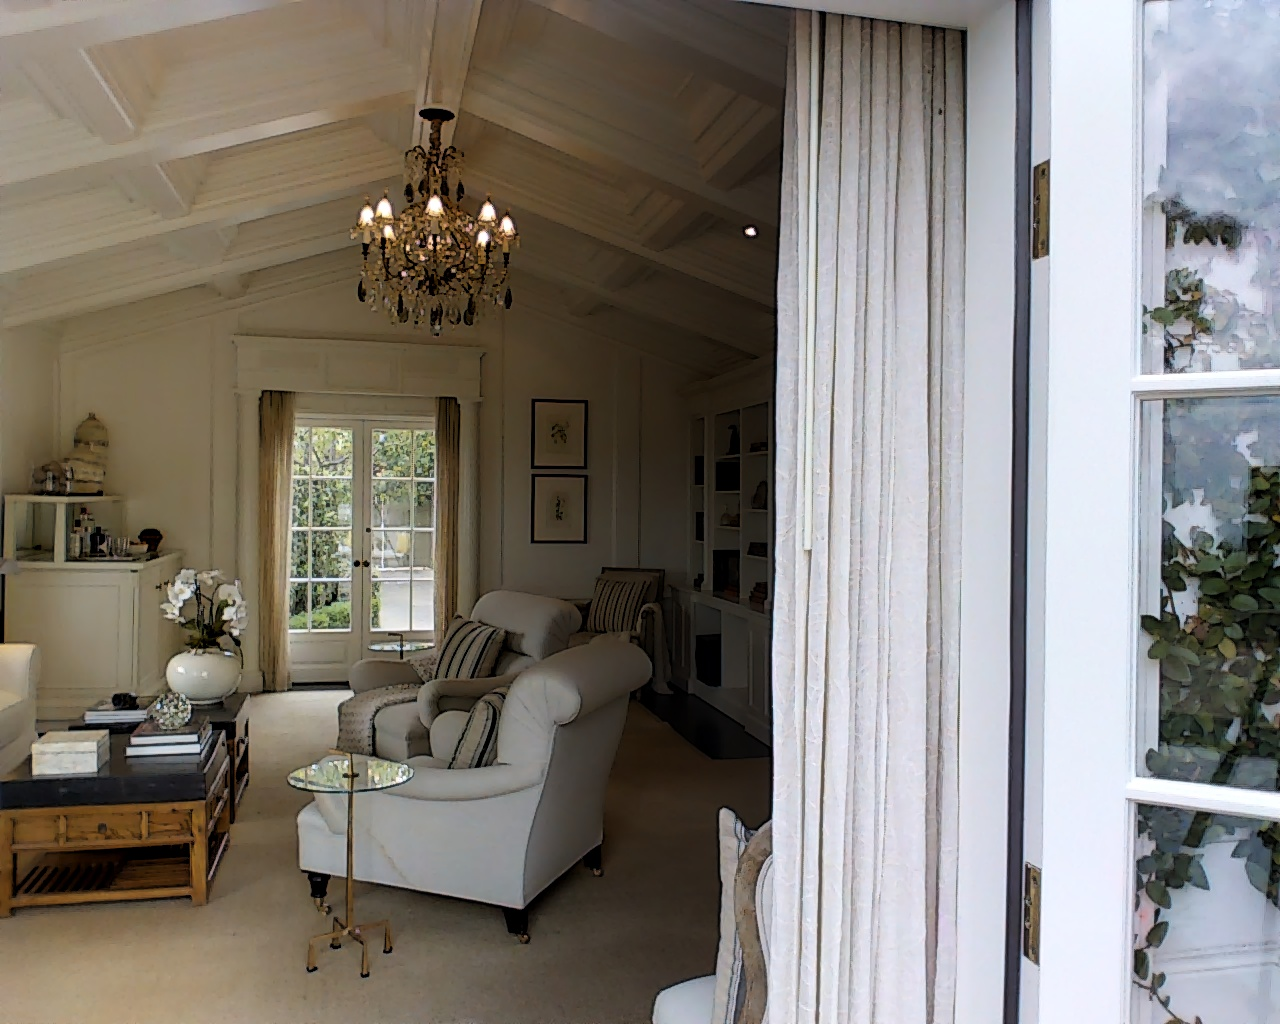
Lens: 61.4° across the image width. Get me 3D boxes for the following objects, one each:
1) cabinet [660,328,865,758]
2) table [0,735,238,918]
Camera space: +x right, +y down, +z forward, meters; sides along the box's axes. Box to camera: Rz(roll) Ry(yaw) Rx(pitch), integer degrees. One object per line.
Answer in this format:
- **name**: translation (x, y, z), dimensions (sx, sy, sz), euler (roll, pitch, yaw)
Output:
- **cabinet**: translation (0.720, 0.160, 7.400), dimensions (0.490, 2.410, 2.700), euler (0, 1, -14)
- **table**: translation (-1.900, 1.130, 3.990), dimensions (0.690, 0.430, 0.700), euler (0, 1, -14)
